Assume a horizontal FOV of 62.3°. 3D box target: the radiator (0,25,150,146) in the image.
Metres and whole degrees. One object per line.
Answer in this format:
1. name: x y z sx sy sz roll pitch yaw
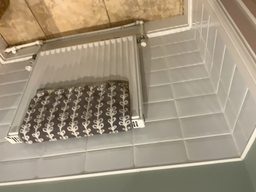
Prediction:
1. radiator: -0.240 -0.090 1.070 0.630 0.620 0.090 -8 140 6
